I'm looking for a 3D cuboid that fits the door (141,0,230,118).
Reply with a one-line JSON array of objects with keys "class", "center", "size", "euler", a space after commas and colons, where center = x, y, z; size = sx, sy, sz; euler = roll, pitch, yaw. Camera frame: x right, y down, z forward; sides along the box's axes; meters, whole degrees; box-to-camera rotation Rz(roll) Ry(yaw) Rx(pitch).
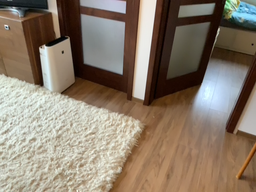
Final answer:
[{"class": "door", "center": [0.670, -0.820, 2.160], "size": [0.980, 2.260, 0.090], "euler": [-18, 41, -30]}]
